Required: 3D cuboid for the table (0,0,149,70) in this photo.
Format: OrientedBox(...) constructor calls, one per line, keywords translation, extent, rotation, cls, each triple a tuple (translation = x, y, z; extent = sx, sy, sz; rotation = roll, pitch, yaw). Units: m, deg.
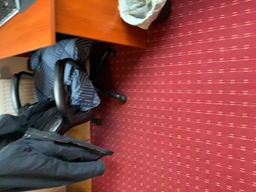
OrientedBox(translation=(-0.570, -0.620, 1.630), extent=(1.190, 0.790, 0.710), rotation=(-1, 93, 41), cls="table")
